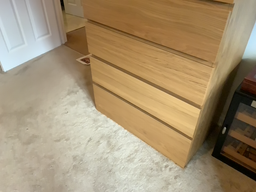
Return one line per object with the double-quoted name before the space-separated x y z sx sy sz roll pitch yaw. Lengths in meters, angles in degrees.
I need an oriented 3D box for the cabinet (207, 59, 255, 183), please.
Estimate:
"cabinet" 0.730 0.150 1.200 0.310 0.580 0.290 29 47 31
